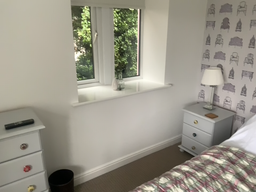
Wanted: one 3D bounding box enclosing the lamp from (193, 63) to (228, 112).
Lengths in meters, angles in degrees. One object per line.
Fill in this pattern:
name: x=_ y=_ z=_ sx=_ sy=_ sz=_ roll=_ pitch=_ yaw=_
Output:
lamp: x=0.950 y=-0.110 z=2.450 sx=0.260 sy=0.500 sz=0.210 roll=-12 pitch=22 yaw=-33
